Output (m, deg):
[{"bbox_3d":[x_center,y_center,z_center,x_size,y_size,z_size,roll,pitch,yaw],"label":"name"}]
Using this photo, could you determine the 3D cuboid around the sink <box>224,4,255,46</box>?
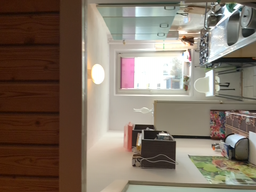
[{"bbox_3d":[1.250,-0.780,2.380,0.380,0.200,0.350,-9,-81,-86],"label":"sink"}]
